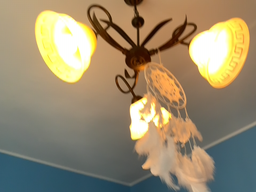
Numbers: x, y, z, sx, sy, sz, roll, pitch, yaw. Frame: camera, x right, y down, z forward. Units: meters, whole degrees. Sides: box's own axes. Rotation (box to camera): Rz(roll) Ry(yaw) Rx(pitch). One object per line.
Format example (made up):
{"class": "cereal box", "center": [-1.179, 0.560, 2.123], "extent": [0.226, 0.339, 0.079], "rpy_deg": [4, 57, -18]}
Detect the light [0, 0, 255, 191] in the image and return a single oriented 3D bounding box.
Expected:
{"class": "light", "center": [0.040, -0.130, 0.730], "extent": [0.570, 0.570, 0.920], "rpy_deg": [53, -155, -40]}
